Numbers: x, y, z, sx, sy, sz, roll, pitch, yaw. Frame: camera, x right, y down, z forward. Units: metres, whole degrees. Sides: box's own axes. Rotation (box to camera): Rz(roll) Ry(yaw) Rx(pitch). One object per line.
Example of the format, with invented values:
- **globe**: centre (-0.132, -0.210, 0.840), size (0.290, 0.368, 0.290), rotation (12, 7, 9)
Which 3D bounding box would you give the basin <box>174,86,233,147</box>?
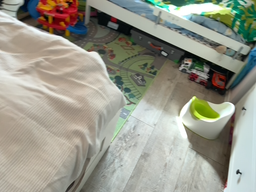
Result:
- **basin**: centre (0.620, 0.160, 1.730), size (0.320, 0.200, 0.340), rotation (32, 48, 12)
